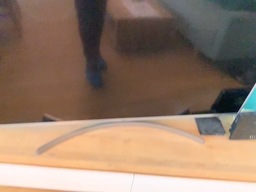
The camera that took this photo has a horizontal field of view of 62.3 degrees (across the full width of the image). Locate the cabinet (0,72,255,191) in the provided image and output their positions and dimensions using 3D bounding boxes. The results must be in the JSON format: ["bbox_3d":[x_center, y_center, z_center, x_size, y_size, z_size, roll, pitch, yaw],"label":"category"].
[{"bbox_3d":[0.030,0.270,1.260,1.460,0.430,0.550,6,44,-2],"label":"cabinet"}]

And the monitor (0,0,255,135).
[{"bbox_3d":[0.000,-0.150,0.840,1.230,0.740,0.080,-4,44,-9],"label":"monitor"}]
